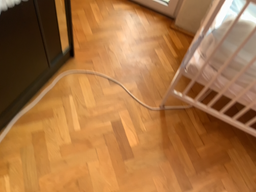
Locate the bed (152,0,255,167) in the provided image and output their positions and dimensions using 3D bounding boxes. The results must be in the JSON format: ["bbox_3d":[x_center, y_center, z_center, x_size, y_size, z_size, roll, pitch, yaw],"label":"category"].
[{"bbox_3d":[0.920,-0.090,1.140,1.210,1.000,0.630,27,58,6],"label":"bed"}]
